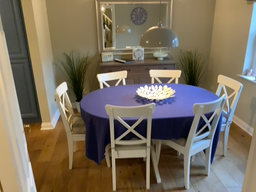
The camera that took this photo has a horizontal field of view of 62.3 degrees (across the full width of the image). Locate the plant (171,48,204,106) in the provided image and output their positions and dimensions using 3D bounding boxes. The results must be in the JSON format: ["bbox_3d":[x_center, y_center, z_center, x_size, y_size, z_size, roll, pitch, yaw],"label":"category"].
[{"bbox_3d":[1.080,-0.350,3.910,0.480,1.030,0.170,-4,20,-8],"label":"plant"}]
